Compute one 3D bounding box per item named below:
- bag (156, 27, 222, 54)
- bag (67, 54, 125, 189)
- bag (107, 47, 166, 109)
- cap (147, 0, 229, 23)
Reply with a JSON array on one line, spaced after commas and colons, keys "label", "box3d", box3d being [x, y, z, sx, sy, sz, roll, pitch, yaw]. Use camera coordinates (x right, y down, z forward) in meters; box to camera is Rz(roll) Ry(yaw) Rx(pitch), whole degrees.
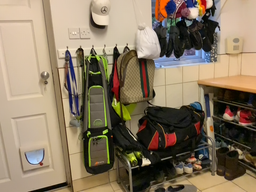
[{"label": "bag", "box3d": [0.600, -0.540, 2.070, 0.650, 0.220, 0.160, -8, 13, -20]}, {"label": "bag", "box3d": [-0.250, 0.200, 1.750, 0.340, 1.050, 0.180, -9, 13, -22]}, {"label": "bag", "box3d": [0.070, -0.170, 1.790, 0.400, 0.450, 0.260, -8, 13, -19]}, {"label": "cap", "box3d": [0.560, -0.830, 1.920, 0.790, 0.300, 0.130, -8, 13, -21]}]
